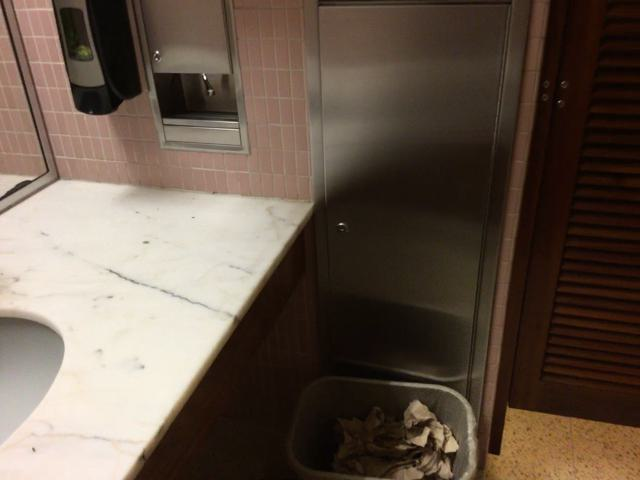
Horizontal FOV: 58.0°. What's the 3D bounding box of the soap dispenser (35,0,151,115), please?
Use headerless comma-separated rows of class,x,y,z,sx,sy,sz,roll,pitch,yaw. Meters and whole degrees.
soap dispenser,-0.410,-0.360,1.050,0.120,0.240,0.100,5,30,16

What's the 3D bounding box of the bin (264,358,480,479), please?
bin,0.130,0.530,1.250,0.380,0.400,0.290,5,30,16
